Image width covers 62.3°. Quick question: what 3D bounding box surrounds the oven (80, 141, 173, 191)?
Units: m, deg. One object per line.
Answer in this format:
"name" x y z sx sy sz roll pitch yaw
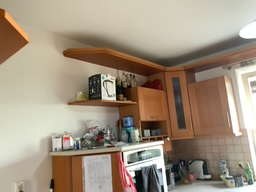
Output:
"oven" -0.010 0.800 2.080 0.580 0.620 0.660 -14 -13 41
